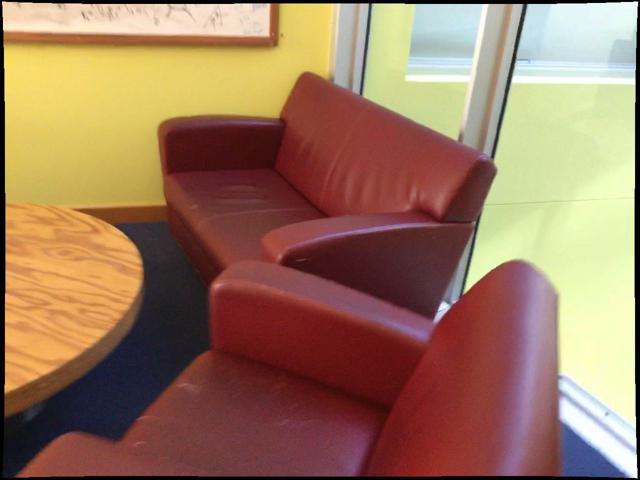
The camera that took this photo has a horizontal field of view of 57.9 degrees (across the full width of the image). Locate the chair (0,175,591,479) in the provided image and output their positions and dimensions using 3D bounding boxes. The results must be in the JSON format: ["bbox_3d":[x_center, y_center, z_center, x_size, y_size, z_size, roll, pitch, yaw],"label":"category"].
[{"bbox_3d":[-0.010,0.470,1.290,0.909,0.811,0.840,12,33,15],"label":"chair"}]

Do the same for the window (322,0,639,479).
[{"bbox_3d":[0.639,-0.731,2.030,0.160,2.322,2.090,-14,37,-25],"label":"window"}]

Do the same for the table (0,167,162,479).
[{"bbox_3d":[-1.159,0.250,1.820,1.209,0.420,1.200,-6,33,-14],"label":"table"}]
